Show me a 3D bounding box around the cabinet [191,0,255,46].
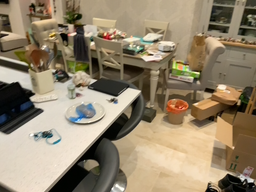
[{"bbox_3d":[1.530,-1.320,2.890,1.040,1.070,0.420,16,32,22],"label":"cabinet"}]

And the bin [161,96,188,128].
[{"bbox_3d":[0.590,0.200,2.680,0.260,0.250,0.280,11,30,15],"label":"bin"}]
